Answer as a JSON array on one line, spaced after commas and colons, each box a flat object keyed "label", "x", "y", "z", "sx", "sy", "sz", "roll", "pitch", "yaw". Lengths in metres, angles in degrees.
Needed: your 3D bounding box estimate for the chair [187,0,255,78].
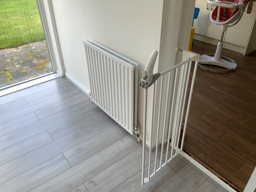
[{"label": "chair", "x": 1.380, "y": -0.980, "z": 3.070, "sx": 0.640, "sy": 1.140, "sz": 0.620, "roll": 27, "pitch": 43, "yaw": 35}]
